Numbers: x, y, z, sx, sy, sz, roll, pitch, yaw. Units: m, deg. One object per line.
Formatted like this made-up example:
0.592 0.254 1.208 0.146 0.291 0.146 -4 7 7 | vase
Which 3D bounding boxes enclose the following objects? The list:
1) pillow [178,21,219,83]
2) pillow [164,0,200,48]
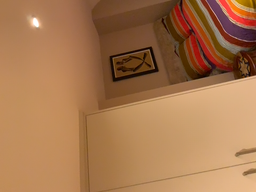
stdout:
0.860 -0.550 2.690 0.390 0.290 0.620 69 -170 -59 | pillow
0.750 -1.110 3.030 0.400 0.300 0.700 69 -170 -59 | pillow
